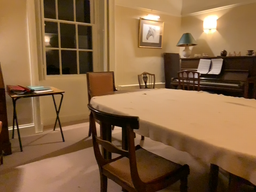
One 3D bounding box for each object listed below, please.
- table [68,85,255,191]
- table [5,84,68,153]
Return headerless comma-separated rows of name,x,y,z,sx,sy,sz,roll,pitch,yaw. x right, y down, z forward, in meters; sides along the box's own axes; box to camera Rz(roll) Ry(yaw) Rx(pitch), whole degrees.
table,0.550,0.410,1.790,1.250,0.710,2.300,-7,12,-36
table,-1.200,0.240,2.770,0.600,0.710,0.580,-6,11,-36
